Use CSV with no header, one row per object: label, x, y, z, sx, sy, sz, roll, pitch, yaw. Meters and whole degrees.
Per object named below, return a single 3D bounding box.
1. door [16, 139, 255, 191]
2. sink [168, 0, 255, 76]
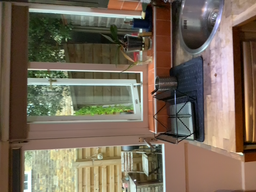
door,0.250,0.700,1.620,0.040,2.030,0.680,164,107,-77
sink,0.450,-0.460,1.190,0.480,0.190,0.500,102,163,-44
